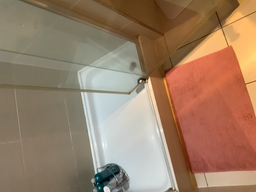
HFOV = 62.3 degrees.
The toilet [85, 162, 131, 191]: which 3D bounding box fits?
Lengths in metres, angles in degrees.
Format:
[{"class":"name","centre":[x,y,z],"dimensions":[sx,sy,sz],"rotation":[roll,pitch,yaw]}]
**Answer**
[{"class":"toilet","centre":[-0.160,0.700,1.660],"dimensions":[0.230,0.220,0.230],"rotation":[24,104,35]}]
